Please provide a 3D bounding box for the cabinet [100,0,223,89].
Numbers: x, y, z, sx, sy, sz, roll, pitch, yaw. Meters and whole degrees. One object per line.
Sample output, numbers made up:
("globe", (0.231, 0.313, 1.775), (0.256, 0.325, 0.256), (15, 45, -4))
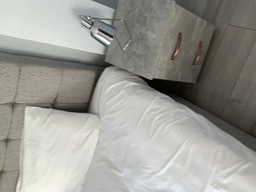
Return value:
("cabinet", (0.210, -0.340, 1.360), (0.440, 0.530, 0.420), (34, 112, 40))
